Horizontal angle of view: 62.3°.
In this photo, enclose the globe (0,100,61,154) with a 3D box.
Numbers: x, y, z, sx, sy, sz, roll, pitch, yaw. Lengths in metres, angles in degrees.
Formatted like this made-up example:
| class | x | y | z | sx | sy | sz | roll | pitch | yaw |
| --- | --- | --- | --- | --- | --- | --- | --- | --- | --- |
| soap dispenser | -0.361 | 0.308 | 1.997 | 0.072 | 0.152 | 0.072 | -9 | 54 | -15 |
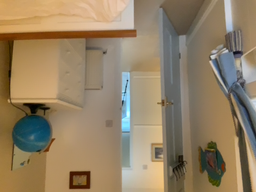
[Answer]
| class | x | y | z | sx | sy | sz | roll | pitch | yaw |
| --- | --- | --- | --- | --- | --- | --- | --- | --- | --- |
| globe | -0.800 | 0.260 | 1.780 | 0.340 | 0.400 | 0.380 | 0 | 172 | 2 |
